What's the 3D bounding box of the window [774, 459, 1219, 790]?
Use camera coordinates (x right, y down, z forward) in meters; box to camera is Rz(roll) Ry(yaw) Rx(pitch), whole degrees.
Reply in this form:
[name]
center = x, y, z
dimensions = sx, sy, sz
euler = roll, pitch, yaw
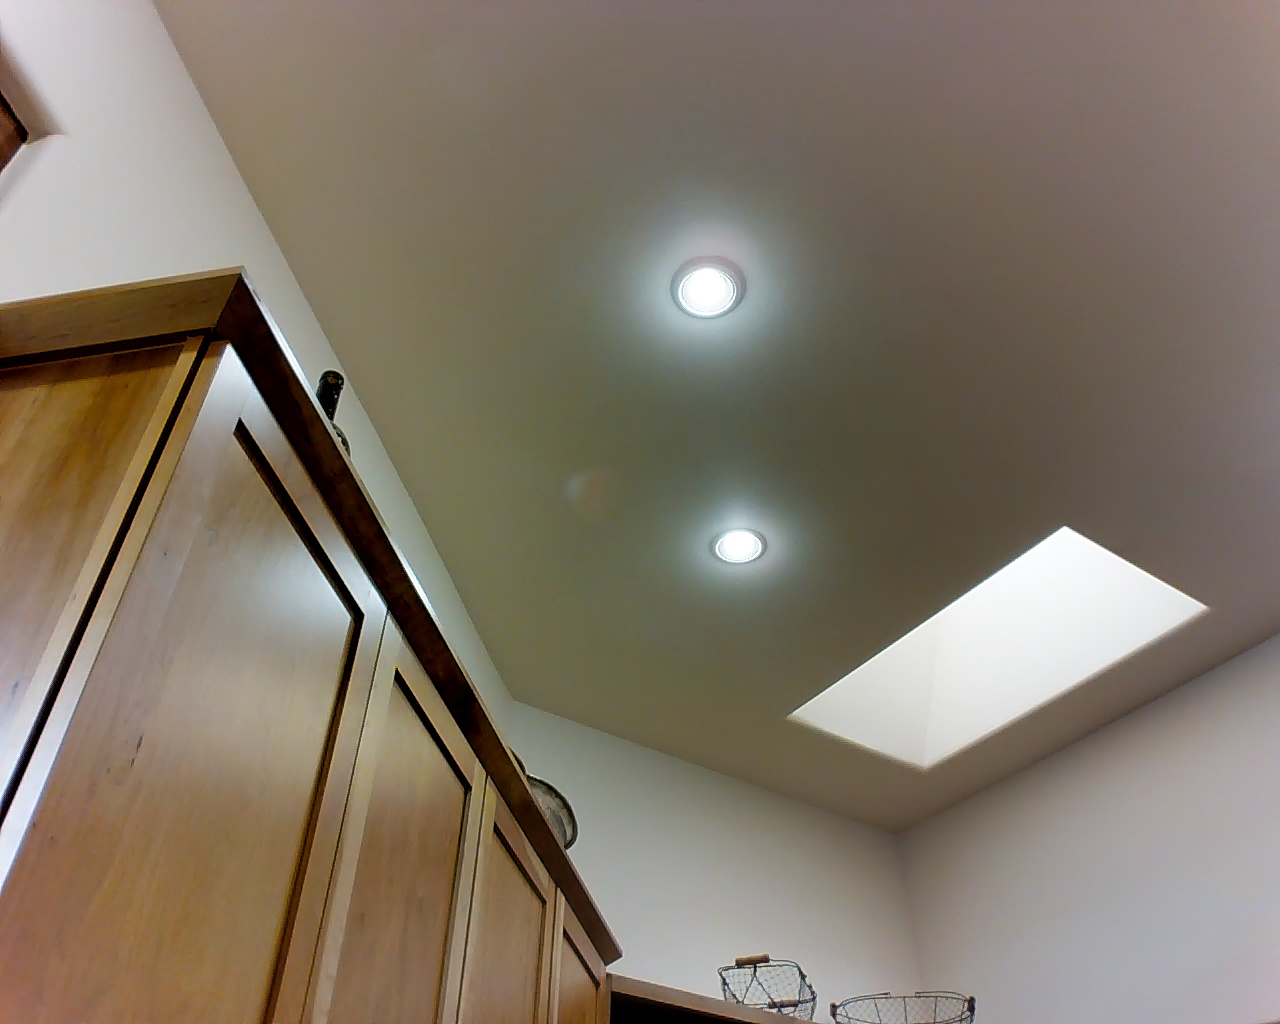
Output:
[window]
center = 0.920, 0.360, 2.940
dimensions = 0.560, 0.270, 1.020
euler = 25, -48, -24
